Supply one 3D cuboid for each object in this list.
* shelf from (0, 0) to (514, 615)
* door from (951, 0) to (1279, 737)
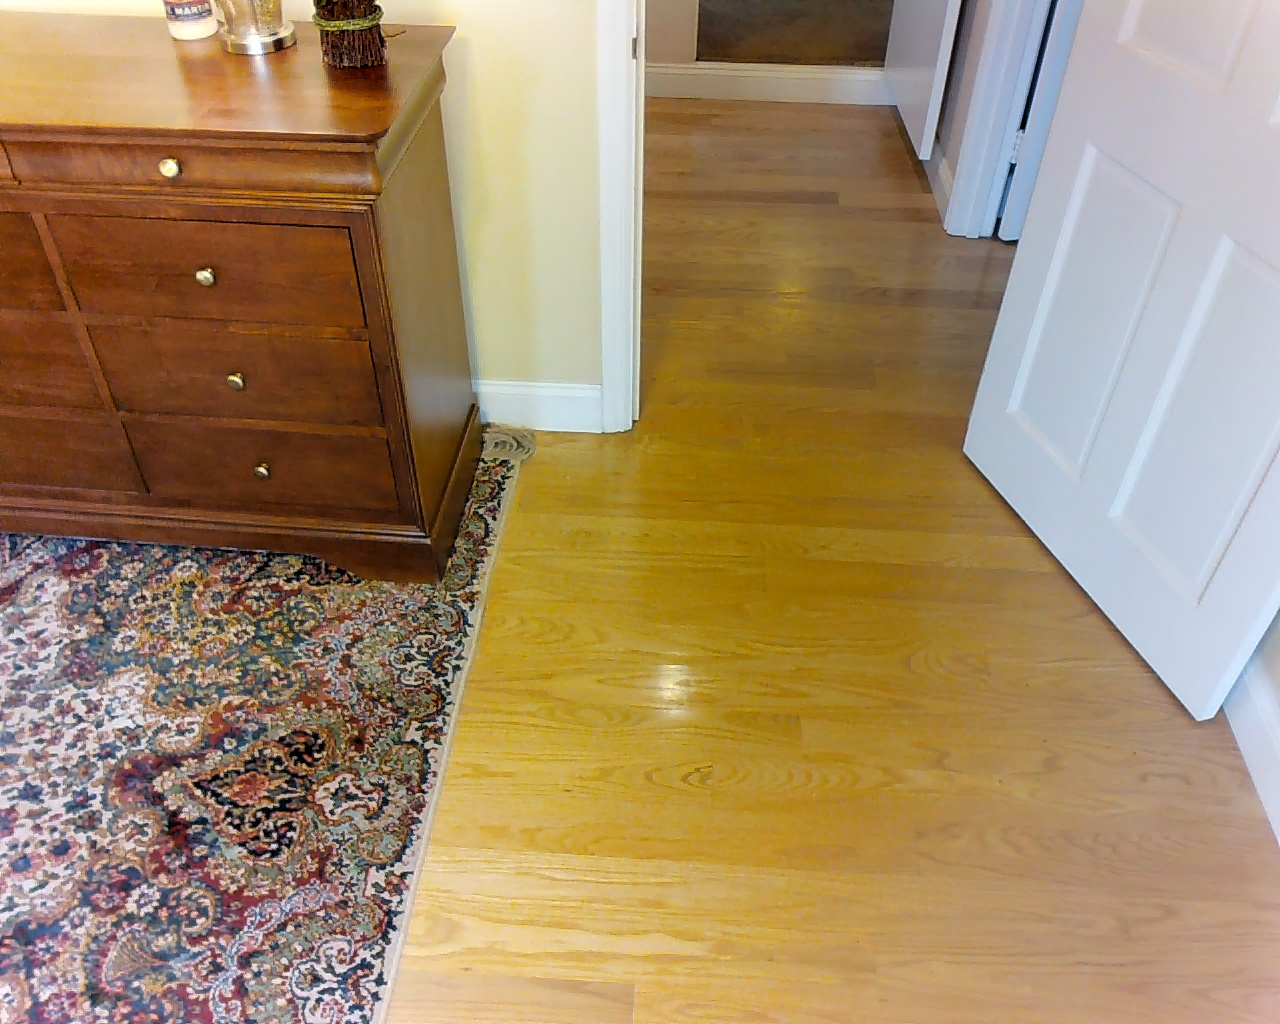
[{"bbox_3d":[-1.290,-0.450,2.140,1.920,1.010,0.620,5,42,4],"label":"shelf"},{"bbox_3d":[0.910,-0.620,1.580,0.050,2.060,0.820,-13,44,-15],"label":"door"}]
